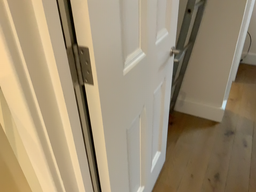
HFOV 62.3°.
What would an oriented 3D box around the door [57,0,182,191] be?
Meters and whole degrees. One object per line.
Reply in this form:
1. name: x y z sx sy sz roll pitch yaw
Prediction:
1. door: 0.070 -0.200 0.820 0.030 2.080 0.800 15 36 24
